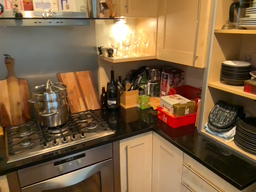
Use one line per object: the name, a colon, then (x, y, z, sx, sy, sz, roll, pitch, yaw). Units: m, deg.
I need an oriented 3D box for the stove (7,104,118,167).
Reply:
stove: (-0.500, 0.230, 1.550, 0.640, 0.060, 0.590, -11, 21, -30)
